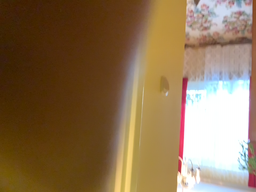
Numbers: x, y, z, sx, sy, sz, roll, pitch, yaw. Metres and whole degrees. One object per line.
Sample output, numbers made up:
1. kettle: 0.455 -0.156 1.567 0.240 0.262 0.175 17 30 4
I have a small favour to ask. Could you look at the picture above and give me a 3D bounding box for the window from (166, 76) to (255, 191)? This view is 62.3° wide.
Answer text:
1. window: 1.360 0.590 3.560 1.330 1.820 0.160 2 173 28
